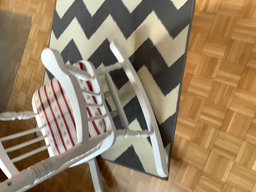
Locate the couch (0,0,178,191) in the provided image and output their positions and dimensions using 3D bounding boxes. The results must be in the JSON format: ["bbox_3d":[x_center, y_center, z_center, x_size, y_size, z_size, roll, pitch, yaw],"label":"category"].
[{"bbox_3d":[-0.380,0.090,0.960,0.620,1.150,0.880,-27,73,23],"label":"couch"}]
